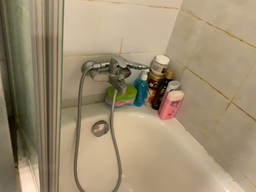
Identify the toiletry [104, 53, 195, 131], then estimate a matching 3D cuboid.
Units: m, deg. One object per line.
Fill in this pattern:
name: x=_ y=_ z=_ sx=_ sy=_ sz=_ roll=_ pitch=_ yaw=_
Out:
toiletry: x=0.080 y=-0.030 z=0.940 sx=0.280 sy=0.230 sz=0.220 roll=-8 pitch=41 yaw=-30
